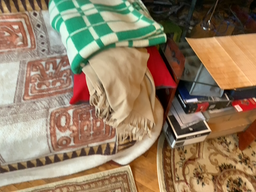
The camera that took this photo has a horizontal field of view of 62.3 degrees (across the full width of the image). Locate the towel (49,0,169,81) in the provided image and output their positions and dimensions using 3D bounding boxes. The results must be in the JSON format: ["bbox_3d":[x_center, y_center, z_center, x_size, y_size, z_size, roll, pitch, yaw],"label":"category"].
[{"bbox_3d":[-0.140,-0.390,1.060,0.450,0.180,0.610,-10,53,-13],"label":"towel"}]
